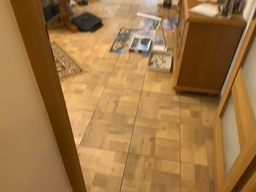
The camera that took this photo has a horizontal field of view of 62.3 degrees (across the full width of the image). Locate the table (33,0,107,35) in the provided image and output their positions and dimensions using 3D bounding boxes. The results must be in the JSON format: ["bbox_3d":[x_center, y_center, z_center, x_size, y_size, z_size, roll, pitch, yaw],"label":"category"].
[{"bbox_3d":[-0.900,-1.520,3.490,0.870,0.630,0.840,9,41,9],"label":"table"}]
